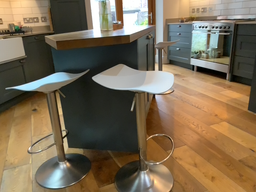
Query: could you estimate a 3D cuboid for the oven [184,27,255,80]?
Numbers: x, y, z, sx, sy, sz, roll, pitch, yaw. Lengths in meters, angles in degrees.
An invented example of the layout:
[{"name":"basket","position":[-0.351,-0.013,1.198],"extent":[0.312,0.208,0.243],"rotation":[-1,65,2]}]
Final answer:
[{"name":"oven","position":[1.510,-0.780,3.620],"extent":[0.630,0.720,0.920],"rotation":[-10,21,-20]}]
